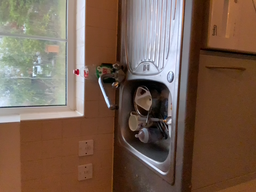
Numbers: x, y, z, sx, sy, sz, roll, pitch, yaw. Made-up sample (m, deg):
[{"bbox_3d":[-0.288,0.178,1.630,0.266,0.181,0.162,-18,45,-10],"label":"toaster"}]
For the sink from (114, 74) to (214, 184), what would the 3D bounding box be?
[{"bbox_3d":[0.130,0.100,1.040,0.510,0.190,0.400,13,103,61],"label":"sink"}]
